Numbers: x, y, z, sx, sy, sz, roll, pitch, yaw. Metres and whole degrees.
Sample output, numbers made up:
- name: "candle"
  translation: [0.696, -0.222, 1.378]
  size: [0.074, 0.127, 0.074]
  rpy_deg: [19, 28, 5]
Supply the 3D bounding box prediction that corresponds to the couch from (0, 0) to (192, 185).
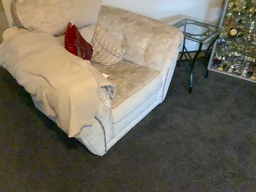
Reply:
- name: "couch"
  translation: [-0.320, -0.300, 1.740]
  size: [1.040, 0.940, 1.280]
  rpy_deg: [27, 44, 27]
